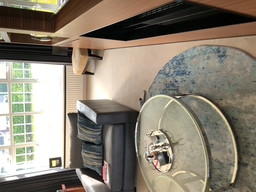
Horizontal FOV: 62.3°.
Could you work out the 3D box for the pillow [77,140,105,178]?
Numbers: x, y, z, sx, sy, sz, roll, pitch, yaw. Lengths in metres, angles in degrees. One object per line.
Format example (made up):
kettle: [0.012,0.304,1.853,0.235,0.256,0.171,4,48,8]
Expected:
pillow: [-0.570,0.960,3.270,0.140,0.460,0.450,-7,-80,-54]

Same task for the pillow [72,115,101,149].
pillow: [-0.620,0.530,3.160,0.130,0.440,0.420,-11,-77,-55]
